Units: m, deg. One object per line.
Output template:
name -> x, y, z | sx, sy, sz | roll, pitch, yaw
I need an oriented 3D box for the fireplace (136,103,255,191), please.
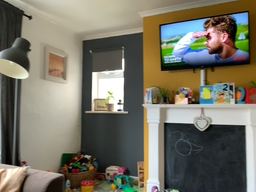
fireplace -> 0.780, 0.670, 2.300 | 1.320, 1.180, 0.440 | -1, -4, 24

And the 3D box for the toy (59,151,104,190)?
toy -> -0.720, 1.150, 3.350 | 0.520, 0.410, 0.460 | -1, -4, 25

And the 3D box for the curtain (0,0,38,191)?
curtain -> -1.280, -0.010, 2.450 | 0.150, 2.380, 0.410 | 0, -4, 15
